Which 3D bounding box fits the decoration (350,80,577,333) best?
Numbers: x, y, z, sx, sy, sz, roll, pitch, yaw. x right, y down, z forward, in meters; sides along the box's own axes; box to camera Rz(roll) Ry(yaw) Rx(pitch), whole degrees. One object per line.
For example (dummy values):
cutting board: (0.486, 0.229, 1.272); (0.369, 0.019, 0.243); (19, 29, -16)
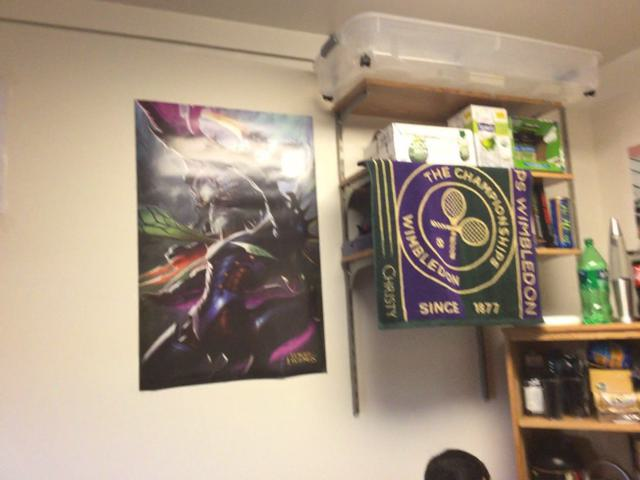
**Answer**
decoration: (0.530, -0.120, 2.120); (0.790, 0.850, 0.140); (-1, -9, -22)
